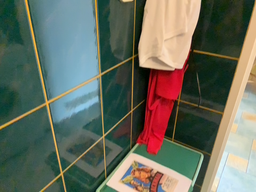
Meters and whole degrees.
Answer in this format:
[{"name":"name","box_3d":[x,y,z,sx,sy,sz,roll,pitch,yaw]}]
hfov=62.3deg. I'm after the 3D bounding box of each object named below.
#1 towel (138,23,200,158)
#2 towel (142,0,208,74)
[{"name":"towel","box_3d":[0.170,-0.010,0.970,0.170,0.580,0.160,17,33,24]},{"name":"towel","box_3d":[0.180,-0.390,0.720,0.160,0.580,0.190,18,34,25]}]
